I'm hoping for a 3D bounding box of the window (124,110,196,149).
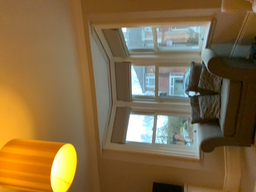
[{"bbox_3d":[0.680,0.690,4.550,0.100,1.470,0.700,64,-149,-65],"label":"window"}]

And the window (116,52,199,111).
[{"bbox_3d":[0.600,-0.320,4.600,0.110,1.700,1.250,-56,-34,-67],"label":"window"}]

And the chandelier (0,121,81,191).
[{"bbox_3d":[-0.920,0.560,1.960,0.590,0.760,0.500,-20,-68,-76],"label":"chandelier"}]

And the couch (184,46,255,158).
[{"bbox_3d":[1.480,0.030,3.530,0.950,0.960,1.570,-59,-31,-65],"label":"couch"}]
